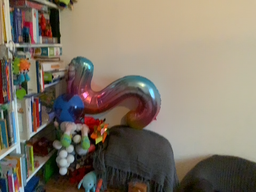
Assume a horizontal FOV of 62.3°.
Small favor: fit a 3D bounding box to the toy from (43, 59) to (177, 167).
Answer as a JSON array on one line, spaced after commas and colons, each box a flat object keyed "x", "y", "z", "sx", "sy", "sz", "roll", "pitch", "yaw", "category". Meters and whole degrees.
[{"x": -0.130, "y": 0.090, "z": 1.770, "sx": 0.930, "sy": 0.710, "sz": 0.480, "roll": 5, "pitch": 13, "yaw": 6, "category": "toy"}]

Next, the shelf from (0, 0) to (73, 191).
[{"x": -0.760, "y": 0.300, "z": 1.400, "sx": 0.280, "sy": 1.900, "sz": 1.490, "roll": 4, "pitch": 13, "yaw": 4, "category": "shelf"}]
